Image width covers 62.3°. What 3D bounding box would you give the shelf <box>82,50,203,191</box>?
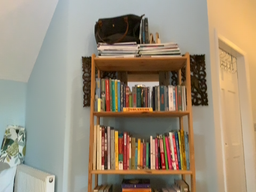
[{"bbox_3d":[0.090,0.520,1.550,0.760,1.630,0.400,-1,-8,0],"label":"shelf"}]
